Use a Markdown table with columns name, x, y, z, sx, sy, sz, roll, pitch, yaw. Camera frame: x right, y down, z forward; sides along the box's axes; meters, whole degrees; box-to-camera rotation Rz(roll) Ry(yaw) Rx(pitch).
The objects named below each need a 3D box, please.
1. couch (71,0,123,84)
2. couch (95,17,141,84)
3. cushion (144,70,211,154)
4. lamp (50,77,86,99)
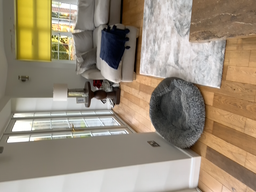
| name | x | y | z | sx | sy | sz | roll | pitch | yaw |
| --- | --- | --- | --- | --- | --- | --- | --- | --- | --- |
| couch | -0.690 | -1.930 | 4.510 | 1.200 | 0.790 | 3.160 | -150 | 62 | -65 |
| couch | -0.230 | -0.790 | 3.780 | 0.940 | 0.470 | 1.010 | -149 | 61 | -65 |
| cushion | 0.480 | 0.110 | 2.360 | 0.900 | 0.170 | 0.680 | -148 | 60 | -65 |
| lamp | -1.220 | -0.170 | 4.300 | 0.400 | 0.660 | 0.340 | -141 | 54 | -63 |
